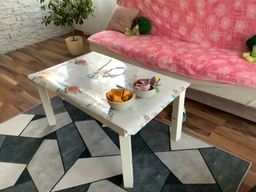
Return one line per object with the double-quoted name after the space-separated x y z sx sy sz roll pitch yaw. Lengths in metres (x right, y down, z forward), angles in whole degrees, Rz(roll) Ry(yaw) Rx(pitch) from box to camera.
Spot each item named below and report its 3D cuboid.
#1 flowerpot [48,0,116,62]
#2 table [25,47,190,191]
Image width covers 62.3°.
-0.590 -0.990 2.900 0.410 0.780 0.710 27 43 37 "flowerpot"
-0.170 0.050 1.510 0.970 0.460 0.580 25 42 36 "table"
